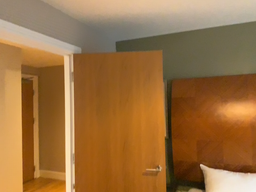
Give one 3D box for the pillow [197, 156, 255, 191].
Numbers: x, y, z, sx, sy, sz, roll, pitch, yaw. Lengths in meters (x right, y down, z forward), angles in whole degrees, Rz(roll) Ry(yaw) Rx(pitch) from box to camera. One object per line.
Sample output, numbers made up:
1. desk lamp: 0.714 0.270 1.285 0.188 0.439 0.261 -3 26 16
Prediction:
1. pillow: 0.960 0.810 1.930 0.540 0.290 0.160 -35 -20 20
